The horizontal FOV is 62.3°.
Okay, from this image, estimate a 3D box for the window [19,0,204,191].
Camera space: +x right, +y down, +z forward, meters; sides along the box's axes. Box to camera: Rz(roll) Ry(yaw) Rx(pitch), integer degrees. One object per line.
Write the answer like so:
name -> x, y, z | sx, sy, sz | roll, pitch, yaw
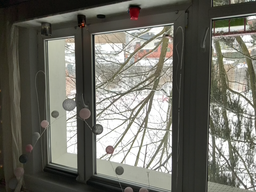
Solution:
window -> -0.210, 0.080, 1.750 | 1.460, 1.520, 0.450 | 3, -174, 30
